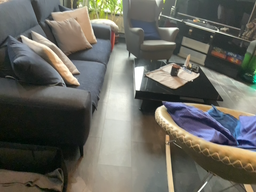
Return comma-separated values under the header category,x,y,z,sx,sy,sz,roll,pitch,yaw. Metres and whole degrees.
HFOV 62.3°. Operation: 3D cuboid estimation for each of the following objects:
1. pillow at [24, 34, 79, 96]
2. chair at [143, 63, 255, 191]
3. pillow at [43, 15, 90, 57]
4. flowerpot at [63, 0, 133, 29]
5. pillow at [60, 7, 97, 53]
category,x,y,z,sx,sy,sz,roll,pitch,yaw
pillow,-0.670,-0.290,1.910,0.270,0.400,0.360,-26,29,-6
chair,0.670,0.410,1.480,1.000,0.820,0.980,8,31,-1
pillow,-0.730,-0.740,2.590,0.220,0.360,0.440,8,36,32
flowerpot,-0.550,-2.020,4.250,1.300,0.990,0.740,8,31,-1
pillow,-0.640,-0.880,2.830,0.210,0.470,0.410,-1,32,17
